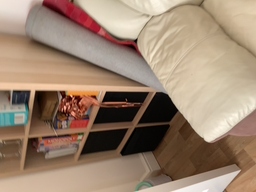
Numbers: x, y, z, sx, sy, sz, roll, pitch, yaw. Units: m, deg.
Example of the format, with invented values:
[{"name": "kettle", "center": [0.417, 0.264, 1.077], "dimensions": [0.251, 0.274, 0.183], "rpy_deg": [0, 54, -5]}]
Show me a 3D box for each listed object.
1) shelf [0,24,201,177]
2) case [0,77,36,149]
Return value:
[{"name": "shelf", "center": [-0.350, 0.060, 1.440], "dimensions": [0.430, 1.480, 0.800], "rpy_deg": [61, 138, 37]}, {"name": "case", "center": [-0.610, 0.090, 1.100], "dimensions": [0.200, 0.190, 0.320], "rpy_deg": [60, 138, 38]}]
